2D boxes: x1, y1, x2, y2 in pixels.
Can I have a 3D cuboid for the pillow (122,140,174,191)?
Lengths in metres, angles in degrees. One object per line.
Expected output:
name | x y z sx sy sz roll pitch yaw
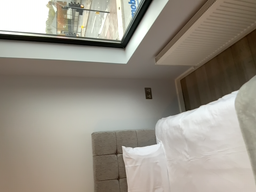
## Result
pillow | 0.190 0.810 2.090 0.130 0.470 0.700 80 -174 -74

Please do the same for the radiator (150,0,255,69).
radiator | 0.710 -0.490 1.640 1.250 0.620 0.050 140 128 -66
